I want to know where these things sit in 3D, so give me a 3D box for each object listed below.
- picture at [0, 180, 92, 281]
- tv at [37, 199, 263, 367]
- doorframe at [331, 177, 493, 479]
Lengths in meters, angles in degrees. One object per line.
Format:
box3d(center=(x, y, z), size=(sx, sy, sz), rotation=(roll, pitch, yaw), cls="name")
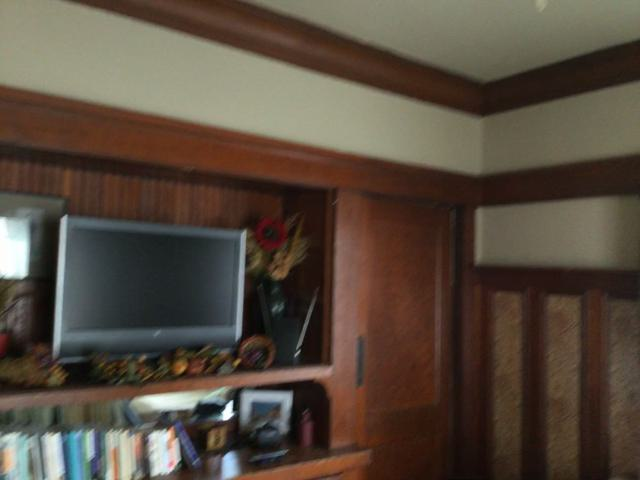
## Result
box3d(center=(-1.130, -0.030, 2.360), size=(0.290, 0.360, 0.160), rotation=(11, -9, -35), cls="picture")
box3d(center=(-0.680, 0.210, 2.450), size=(0.840, 0.600, 0.180), rotation=(11, -9, -35), cls="tv")
box3d(center=(0.500, 0.710, 3.020), size=(0.860, 1.920, 0.180), rotation=(11, -9, -35), cls="doorframe")
